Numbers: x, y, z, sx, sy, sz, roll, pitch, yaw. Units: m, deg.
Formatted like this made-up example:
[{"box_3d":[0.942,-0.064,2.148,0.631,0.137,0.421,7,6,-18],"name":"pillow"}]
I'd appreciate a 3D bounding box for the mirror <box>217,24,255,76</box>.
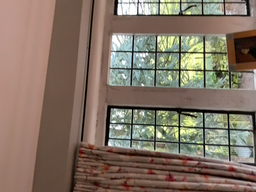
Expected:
[{"box_3d":[0.770,-0.300,1.360,0.130,0.310,0.260,34,-133,-74],"name":"mirror"}]
